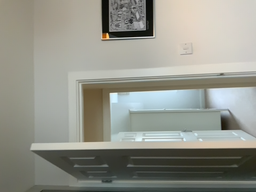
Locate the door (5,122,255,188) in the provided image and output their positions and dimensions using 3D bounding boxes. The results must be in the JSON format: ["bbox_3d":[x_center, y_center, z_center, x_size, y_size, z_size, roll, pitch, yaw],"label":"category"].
[{"bbox_3d":[0.530,0.360,1.140,0.750,2.030,0.130,79,-169,-57],"label":"door"}]
